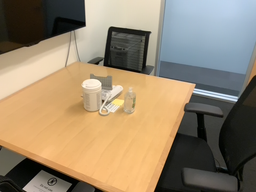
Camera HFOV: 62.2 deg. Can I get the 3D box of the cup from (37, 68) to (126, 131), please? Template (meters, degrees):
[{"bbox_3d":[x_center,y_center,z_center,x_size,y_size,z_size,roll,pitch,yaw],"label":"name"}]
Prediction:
[{"bbox_3d":[-0.280,-0.010,1.450,0.380,0.140,0.490,12,31,18],"label":"cup"}]
